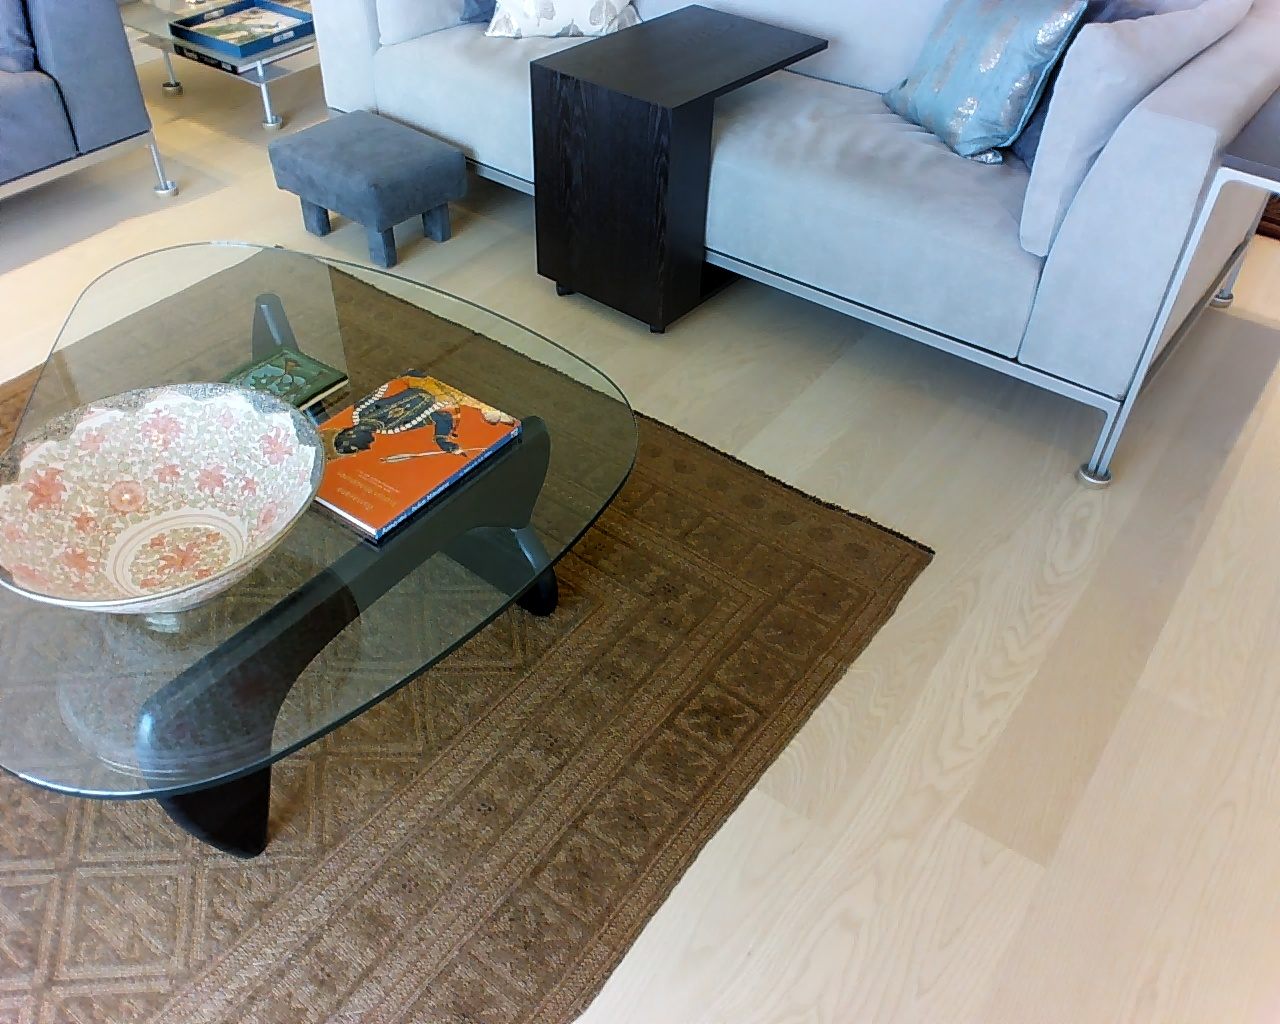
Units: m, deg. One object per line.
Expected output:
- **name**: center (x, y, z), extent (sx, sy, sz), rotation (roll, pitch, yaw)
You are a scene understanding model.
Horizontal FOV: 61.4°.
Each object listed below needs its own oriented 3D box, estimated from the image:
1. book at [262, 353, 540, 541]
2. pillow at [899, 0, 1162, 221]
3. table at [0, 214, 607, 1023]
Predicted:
- **book**: center (-0.350, -0.110, 1.620), extent (0.250, 0.040, 0.330), rotation (24, 45, 22)
- **pillow**: center (0.820, -0.990, 2.360), extent (0.290, 0.380, 0.500), rotation (-22, 59, -1)
- **table**: center (-0.930, 0.210, 1.500), extent (0.930, 0.440, 1.690), rotation (27, 46, 25)
